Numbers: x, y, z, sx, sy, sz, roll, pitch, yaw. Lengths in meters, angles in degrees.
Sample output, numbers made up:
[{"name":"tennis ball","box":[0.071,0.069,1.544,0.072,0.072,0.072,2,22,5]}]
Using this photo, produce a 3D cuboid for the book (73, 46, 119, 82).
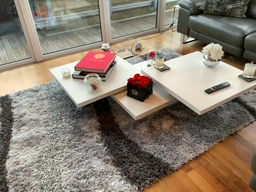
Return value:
[{"name":"book","box":[-0.280,-0.310,1.960,0.280,0.150,0.400,8,36,13]}]

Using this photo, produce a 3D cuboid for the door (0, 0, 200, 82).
[{"name":"door","box":[-0.360,-1.560,2.570,3.860,2.160,0.080,-22,40,-27]}]
